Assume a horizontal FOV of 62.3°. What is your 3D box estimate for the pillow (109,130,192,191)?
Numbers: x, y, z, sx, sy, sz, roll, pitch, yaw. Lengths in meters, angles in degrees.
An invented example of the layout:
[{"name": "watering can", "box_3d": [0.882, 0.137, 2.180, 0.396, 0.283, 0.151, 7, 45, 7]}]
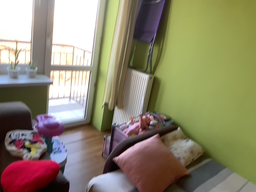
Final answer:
[{"name": "pillow", "box_3d": [0.210, 0.560, 1.830, 0.430, 0.230, 0.600, 23, 21, 33]}]
